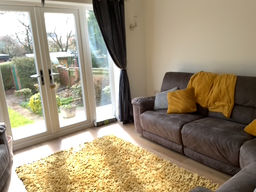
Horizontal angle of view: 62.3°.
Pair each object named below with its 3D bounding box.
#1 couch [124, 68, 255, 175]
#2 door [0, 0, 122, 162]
[{"bbox_3d":[0.860,0.160,3.040,0.930,0.950,1.700,-14,17,-37],"label":"couch"},{"bbox_3d":[-1.290,-0.390,3.330,2.640,2.360,0.250,-14,17,-37],"label":"door"}]
